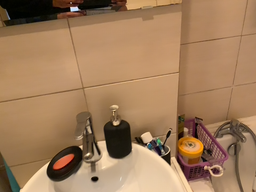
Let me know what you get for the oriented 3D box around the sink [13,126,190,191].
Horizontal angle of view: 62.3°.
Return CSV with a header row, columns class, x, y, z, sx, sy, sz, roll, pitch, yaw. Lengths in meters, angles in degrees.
class,x,y,z,sx,sy,sz,roll,pitch,yaw
sink,-0.070,0.330,0.590,0.460,0.160,0.450,-10,31,-8
